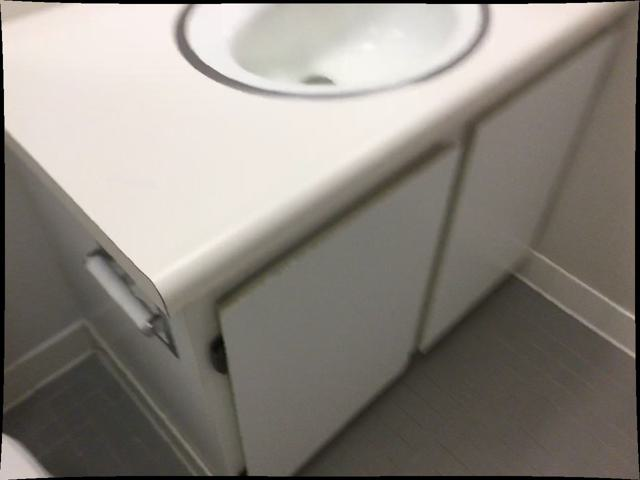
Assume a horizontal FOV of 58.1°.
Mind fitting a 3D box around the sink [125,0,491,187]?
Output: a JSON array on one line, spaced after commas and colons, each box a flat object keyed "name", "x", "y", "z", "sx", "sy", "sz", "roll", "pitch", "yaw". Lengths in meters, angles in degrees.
[{"name": "sink", "x": 0.000, "y": -0.341, "z": 0.980, "sx": 0.530, "sy": 0.140, "sz": 0.310, "roll": -35, "pitch": 58, "yaw": -29}]
